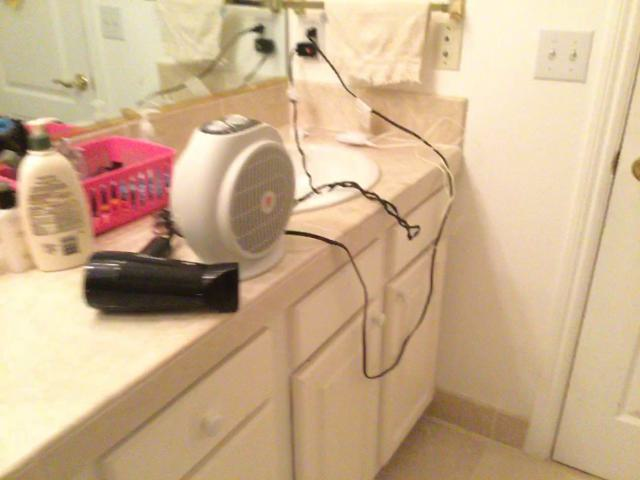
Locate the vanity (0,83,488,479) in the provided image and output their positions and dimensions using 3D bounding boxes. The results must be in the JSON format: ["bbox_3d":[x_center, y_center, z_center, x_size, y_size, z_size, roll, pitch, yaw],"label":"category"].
[{"bbox_3d":[-0.460,0.480,0.860,0.610,1.090,2.350,11,26,31],"label":"vanity"}]
